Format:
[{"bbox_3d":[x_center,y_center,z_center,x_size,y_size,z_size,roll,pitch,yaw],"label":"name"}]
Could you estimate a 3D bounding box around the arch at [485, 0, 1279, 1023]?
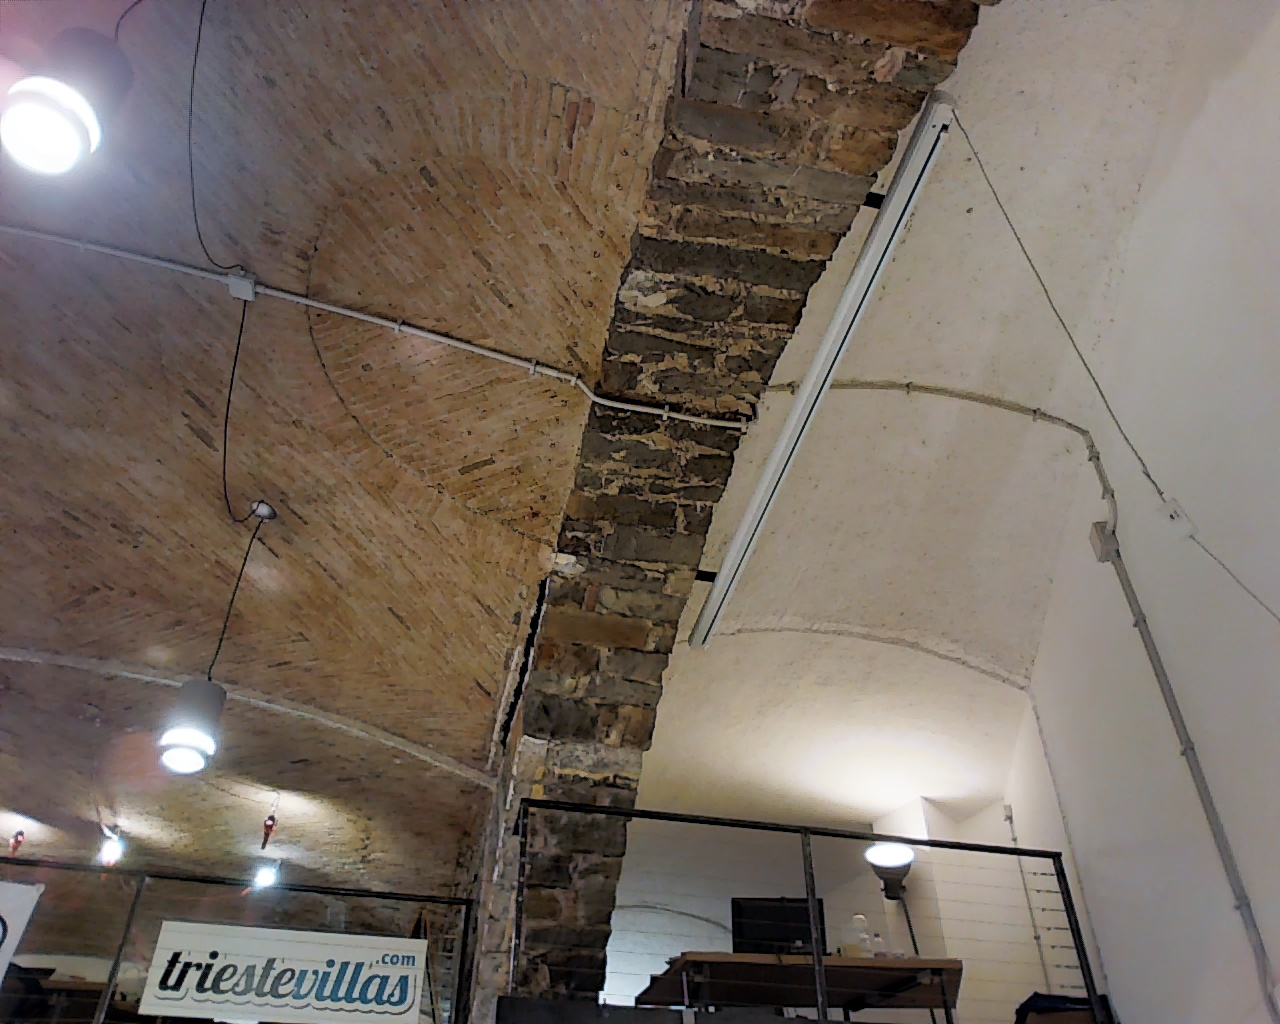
[{"bbox_3d":[0.210,0.990,2.650,0.660,4.881,6.761,9,-42,-8],"label":"arch"}]
